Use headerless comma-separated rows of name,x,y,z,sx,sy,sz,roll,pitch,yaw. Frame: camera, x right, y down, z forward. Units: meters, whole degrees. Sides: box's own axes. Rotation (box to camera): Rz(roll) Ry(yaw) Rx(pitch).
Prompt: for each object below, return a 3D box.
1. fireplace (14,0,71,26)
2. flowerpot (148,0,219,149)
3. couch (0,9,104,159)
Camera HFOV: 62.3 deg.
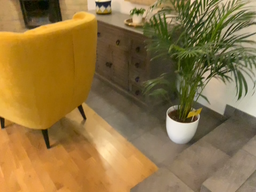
fireplace,-1.490,-1.570,3.780,0.750,0.510,0.510,2,32,3
flowerpot,0.400,-0.150,1.750,0.320,1.220,0.270,-16,35,-24
couch,-0.830,-0.180,1.970,0.860,1.010,0.750,16,35,25
